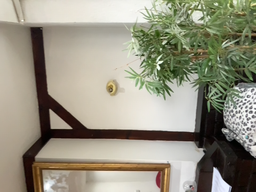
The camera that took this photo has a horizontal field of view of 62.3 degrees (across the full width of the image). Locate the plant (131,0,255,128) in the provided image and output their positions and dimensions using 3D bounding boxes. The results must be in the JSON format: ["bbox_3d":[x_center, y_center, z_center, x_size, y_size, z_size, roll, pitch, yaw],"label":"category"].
[{"bbox_3d":[0.860,-0.270,1.000,0.610,1.670,0.590,-87,-2,-54],"label":"plant"}]
